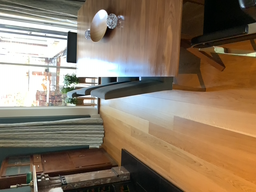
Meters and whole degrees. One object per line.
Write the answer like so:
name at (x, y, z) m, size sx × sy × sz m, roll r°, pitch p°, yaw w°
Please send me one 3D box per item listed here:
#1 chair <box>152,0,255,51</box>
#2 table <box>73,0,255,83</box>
chair at (0.640, -0.590, 1.110) m, size 0.560 × 0.830 × 0.540 m, roll 8°, pitch 96°, yaw 64°
table at (0.060, -0.720, 2.360) m, size 2.520 × 0.770 × 1.010 m, roll 13°, pitch 100°, yaw 63°
